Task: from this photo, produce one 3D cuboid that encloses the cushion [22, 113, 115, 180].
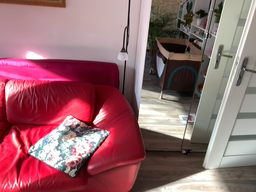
[{"bbox_3d":[-0.470,0.370,1.750,0.490,0.080,0.540,20,30,28],"label":"cushion"}]
